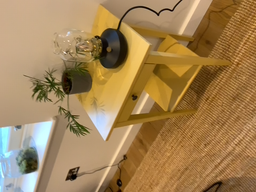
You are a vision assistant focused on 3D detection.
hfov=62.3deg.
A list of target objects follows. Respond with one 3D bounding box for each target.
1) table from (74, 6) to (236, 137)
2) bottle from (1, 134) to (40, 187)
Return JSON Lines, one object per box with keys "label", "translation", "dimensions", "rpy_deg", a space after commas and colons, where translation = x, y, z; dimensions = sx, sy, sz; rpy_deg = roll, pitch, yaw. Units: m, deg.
{"label": "table", "translation": [0.150, -0.120, 1.120], "dimensions": [0.330, 0.690, 0.440], "rpy_deg": [49, 127, 34]}
{"label": "bottle", "translation": [-0.690, 0.400, 1.350], "dimensions": [0.240, 0.150, 0.170], "rpy_deg": [48, 127, 35]}
